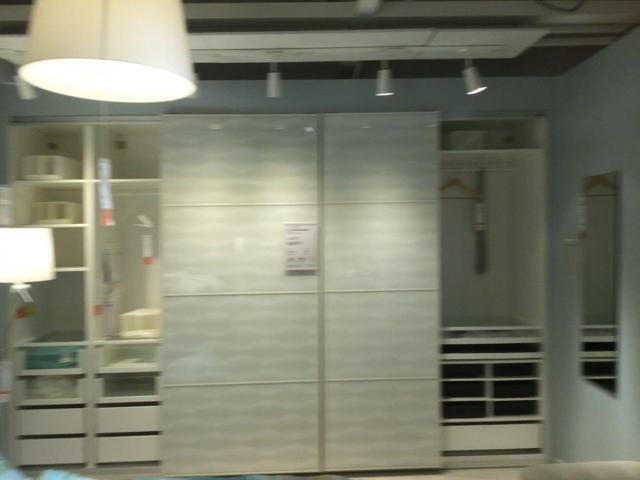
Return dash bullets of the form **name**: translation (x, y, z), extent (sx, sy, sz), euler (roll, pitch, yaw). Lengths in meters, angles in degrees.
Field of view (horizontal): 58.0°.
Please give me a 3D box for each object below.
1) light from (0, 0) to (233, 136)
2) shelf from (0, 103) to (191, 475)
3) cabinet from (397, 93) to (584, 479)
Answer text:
- **light**: translation (-0.730, -0.690, 2.070), extent (0.660, 0.440, 0.750), euler (6, 1, 2)
- **shelf**: translation (-1.500, 0.310, 3.840), extent (0.960, 2.240, 0.480), euler (6, 4, 1)
- **cabinet**: translation (1.040, 0.300, 3.810), extent (0.710, 2.350, 0.660), euler (6, 9, 2)
